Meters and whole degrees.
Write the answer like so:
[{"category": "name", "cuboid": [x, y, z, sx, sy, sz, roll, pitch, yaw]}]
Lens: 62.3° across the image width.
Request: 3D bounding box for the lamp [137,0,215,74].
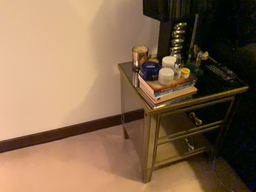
[{"category": "lamp", "cuboid": [0.220, -0.380, 1.040, 0.290, 0.460, 0.200, -13, 40, -16]}]
